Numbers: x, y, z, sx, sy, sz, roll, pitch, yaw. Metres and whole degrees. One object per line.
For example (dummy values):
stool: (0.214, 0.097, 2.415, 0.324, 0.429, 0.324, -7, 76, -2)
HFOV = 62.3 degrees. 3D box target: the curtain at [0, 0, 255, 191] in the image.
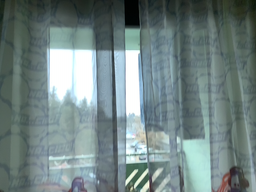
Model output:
curtain: (0.160, 0.120, 0.860, 1.720, 2.120, 0.210, 0, -6, -11)
